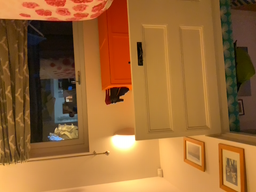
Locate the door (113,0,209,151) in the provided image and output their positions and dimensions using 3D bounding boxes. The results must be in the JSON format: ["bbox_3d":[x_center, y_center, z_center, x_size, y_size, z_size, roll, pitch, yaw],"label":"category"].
[{"bbox_3d":[0.280,-0.530,1.900,0.790,1.940,0.110,-2,178,-11],"label":"door"}]
